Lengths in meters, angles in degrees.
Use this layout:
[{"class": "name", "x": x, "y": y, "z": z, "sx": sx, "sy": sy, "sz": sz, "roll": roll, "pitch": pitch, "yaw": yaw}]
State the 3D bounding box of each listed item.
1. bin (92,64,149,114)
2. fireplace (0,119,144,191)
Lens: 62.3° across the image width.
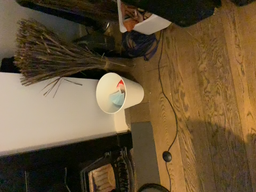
[{"class": "bin", "x": -0.050, "y": -0.040, "z": 1.510, "sx": 0.250, "sy": 0.280, "sz": 0.290, "roll": -13, "pitch": 82, "yaw": 39}, {"class": "fireplace", "x": -0.380, "y": 0.630, "z": 1.240, "sx": 0.320, "sy": 1.150, "sz": 0.870, "roll": -10, "pitch": 83, "yaw": 39}]
